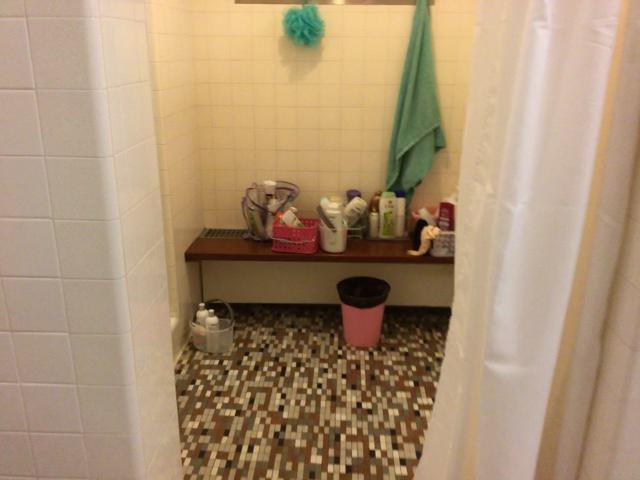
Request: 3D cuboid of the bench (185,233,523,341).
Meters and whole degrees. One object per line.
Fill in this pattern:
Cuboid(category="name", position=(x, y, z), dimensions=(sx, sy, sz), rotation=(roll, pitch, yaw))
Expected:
Cuboid(category="bench", position=(0.150, 0.210, 2.790), dimensions=(1.480, 0.360, 0.430), rotation=(1, 18, 2))
